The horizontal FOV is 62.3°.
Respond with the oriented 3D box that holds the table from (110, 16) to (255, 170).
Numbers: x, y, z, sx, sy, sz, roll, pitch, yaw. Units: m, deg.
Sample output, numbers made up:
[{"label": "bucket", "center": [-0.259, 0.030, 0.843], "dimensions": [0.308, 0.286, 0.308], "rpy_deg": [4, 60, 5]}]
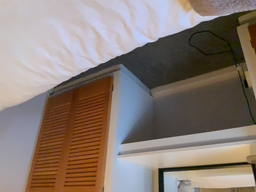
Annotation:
[{"label": "table", "center": [0.400, 0.060, 1.500], "dimensions": [0.860, 0.770, 0.510], "rpy_deg": [-15, 148, 30]}]
